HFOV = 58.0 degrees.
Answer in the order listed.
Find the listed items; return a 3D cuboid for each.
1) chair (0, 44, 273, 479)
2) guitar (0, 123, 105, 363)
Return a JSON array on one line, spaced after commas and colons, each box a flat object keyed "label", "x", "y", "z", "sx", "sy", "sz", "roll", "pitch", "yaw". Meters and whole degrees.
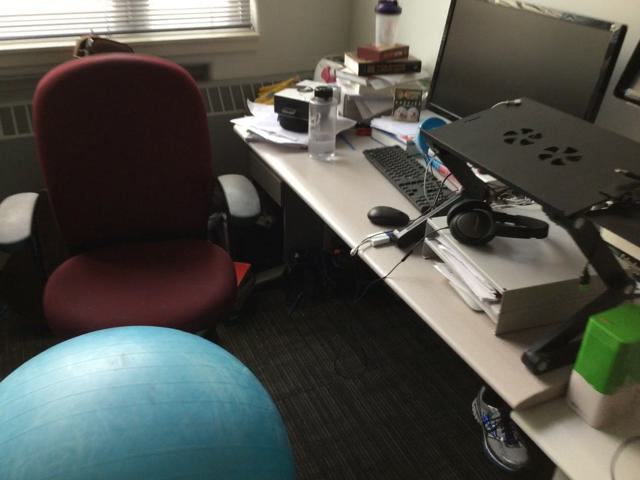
[{"label": "chair", "x": -0.510, "y": 0.040, "z": 1.630, "sx": 0.620, "sy": 1.050, "sz": 0.620, "roll": -6, "pitch": 27, "yaw": -17}, {"label": "guitar", "x": -1.010, "y": -0.010, "z": 2.030, "sx": 0.340, "sy": 0.680, "sz": 0.440, "roll": -11, "pitch": 29, "yaw": -25}]
